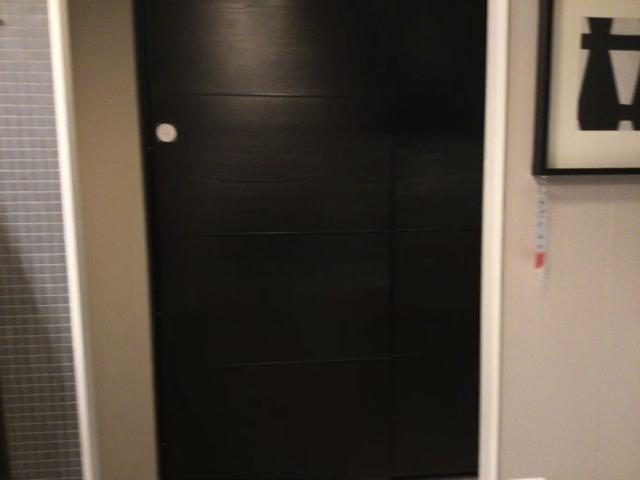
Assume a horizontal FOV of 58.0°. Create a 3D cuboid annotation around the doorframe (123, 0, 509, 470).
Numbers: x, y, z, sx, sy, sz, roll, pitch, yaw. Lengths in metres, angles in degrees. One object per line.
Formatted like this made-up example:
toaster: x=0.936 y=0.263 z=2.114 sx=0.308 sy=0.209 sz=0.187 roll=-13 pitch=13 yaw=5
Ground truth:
doorframe: x=-0.020 y=-0.110 z=2.430 sx=1.480 sy=2.160 sz=0.090 roll=3 pitch=5 yaw=-5
